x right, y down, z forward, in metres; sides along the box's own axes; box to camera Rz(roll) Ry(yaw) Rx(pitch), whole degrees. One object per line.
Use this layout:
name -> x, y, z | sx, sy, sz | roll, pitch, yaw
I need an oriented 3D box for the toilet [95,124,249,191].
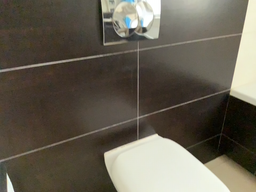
toilet -> 0.140, 0.460, 0.910 | 0.360, 0.400, 0.510 | -15, 29, -27
